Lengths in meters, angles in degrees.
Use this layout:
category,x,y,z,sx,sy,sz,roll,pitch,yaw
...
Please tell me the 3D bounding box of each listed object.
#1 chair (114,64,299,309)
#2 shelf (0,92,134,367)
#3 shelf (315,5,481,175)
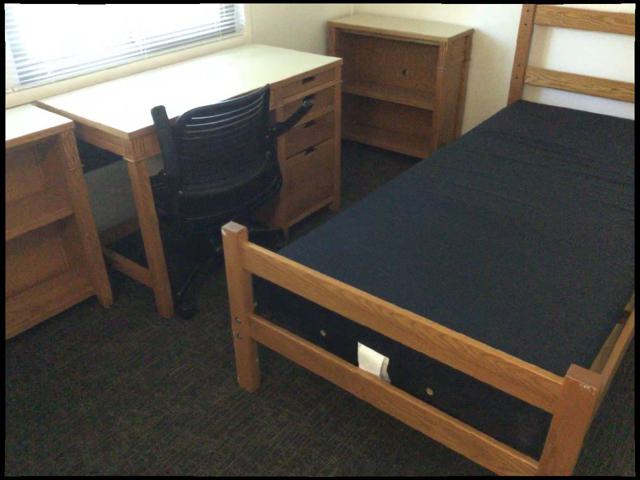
category,x,y,z,sx,sy,sz,roll,pitch,yaw
chair,-0.389,-0.220,2.230,0.250,0.741,0.590,24,41,34
shelf,-1.208,0.010,2.000,0.410,0.751,0.870,24,41,34
shelf,0.429,-0.912,3.420,0.829,0.751,0.410,24,41,34
